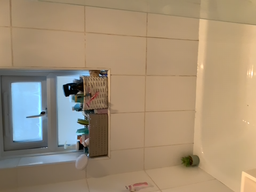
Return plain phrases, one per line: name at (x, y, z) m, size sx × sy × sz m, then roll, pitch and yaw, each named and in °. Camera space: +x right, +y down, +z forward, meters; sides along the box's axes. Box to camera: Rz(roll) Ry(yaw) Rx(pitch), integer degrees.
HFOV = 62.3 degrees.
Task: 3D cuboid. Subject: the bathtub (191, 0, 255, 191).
bathtub at (0.870, -0.260, 1.260) m, size 0.730 × 0.540 × 1.630 m, roll -161°, pitch 71°, yaw -70°
